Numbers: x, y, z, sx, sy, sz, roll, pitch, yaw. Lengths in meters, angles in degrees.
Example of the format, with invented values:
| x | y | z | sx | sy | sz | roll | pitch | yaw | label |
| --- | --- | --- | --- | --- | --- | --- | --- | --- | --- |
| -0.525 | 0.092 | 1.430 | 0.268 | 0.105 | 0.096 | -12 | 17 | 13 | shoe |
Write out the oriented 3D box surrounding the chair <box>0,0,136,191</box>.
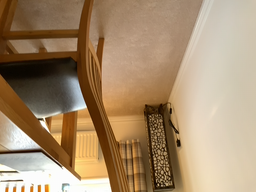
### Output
| x | y | z | sx | sy | sz | roll | pitch | yaw | label |
| --- | --- | --- | --- | --- | --- | --- | --- | --- | --- |
| -0.270 | 0.040 | 0.960 | 0.540 | 1.040 | 0.490 | -5 | 151 | 0 | chair |
